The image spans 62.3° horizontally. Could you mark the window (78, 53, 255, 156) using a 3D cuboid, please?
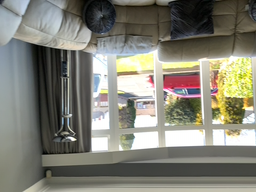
[{"bbox_3d":[1.170,0.120,2.740,3.570,1.170,0.550,-3,179,10],"label":"window"}]
